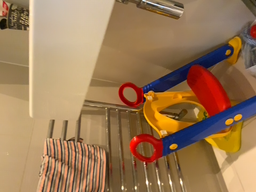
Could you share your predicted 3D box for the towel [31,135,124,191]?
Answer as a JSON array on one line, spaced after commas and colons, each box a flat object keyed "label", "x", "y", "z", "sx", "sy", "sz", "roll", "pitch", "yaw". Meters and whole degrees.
[{"label": "towel", "x": -0.160, "y": 0.300, "z": 0.690, "sx": 0.080, "sy": 0.280, "sz": 0.320, "roll": 118, "pitch": 153, "yaw": -44}]
